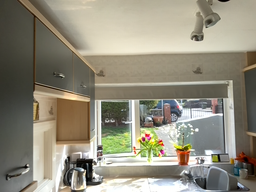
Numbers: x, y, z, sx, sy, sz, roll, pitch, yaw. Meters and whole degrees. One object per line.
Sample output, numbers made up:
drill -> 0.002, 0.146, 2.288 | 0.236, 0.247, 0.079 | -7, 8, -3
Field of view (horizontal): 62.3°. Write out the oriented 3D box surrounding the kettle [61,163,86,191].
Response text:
kettle -> -0.540, 0.810, 2.100 | 0.160, 0.230, 0.170 | -3, -4, 27

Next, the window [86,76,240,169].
window -> 0.410, 0.330, 2.690 | 1.830, 1.080, 0.200 | -2, -3, 2
